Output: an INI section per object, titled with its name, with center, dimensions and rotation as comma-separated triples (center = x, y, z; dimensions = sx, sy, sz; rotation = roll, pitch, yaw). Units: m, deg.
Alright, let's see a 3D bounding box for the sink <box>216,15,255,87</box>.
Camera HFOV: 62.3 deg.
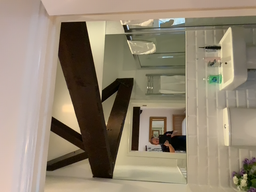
[sink]
center = 0.980, -0.390, 1.960
dimensions = 0.420, 0.180, 0.530
rotation = 49, -139, -78
